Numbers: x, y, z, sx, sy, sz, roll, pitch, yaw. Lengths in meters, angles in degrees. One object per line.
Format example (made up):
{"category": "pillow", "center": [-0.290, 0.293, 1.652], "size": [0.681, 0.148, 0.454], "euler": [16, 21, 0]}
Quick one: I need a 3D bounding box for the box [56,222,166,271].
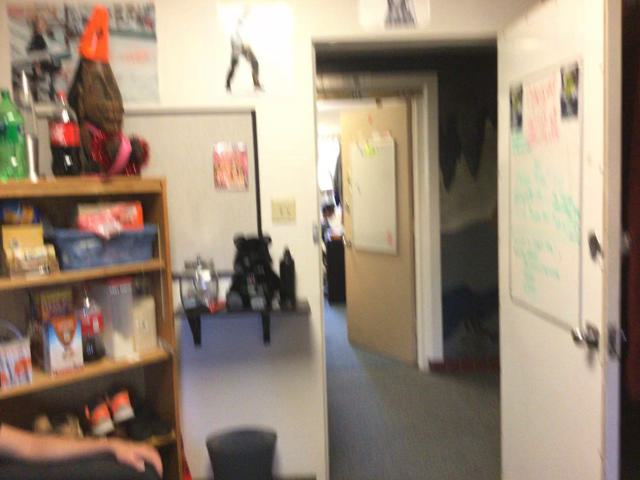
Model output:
{"category": "box", "center": [-0.840, 0.020, 2.330], "size": [0.370, 0.170, 0.190], "euler": [-4, 2, -37]}

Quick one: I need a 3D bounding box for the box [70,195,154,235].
{"category": "box", "center": [-0.840, -0.100, 2.330], "size": [0.260, 0.150, 0.240], "euler": [-4, 2, -35]}

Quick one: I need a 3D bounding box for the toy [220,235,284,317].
{"category": "toy", "center": [-0.290, 0.150, 2.530], "size": [0.240, 0.330, 0.240], "euler": [-2, 2, -1]}

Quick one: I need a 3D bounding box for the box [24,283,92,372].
{"category": "box", "center": [-1.020, 0.330, 2.250], "size": [0.190, 0.300, 0.170], "euler": [-4, 2, -40]}
